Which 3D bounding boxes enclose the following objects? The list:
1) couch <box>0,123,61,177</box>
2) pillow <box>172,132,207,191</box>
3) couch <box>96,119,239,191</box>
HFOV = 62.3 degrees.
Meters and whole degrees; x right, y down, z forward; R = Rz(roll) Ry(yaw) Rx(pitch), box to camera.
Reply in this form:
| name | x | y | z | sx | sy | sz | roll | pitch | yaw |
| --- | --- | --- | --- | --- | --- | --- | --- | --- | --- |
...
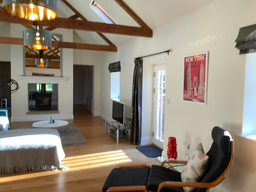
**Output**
| name | x | y | z | sx | sy | sz | roll | pitch | yaw |
| --- | --- | --- | --- | --- | --- | --- | --- | --- | --- |
| couch | -1.950 | 0.930 | 3.940 | 1.240 | 0.520 | 1.340 | -1 | 4 | -21 |
| pillow | 0.700 | 0.760 | 2.400 | 0.160 | 0.450 | 0.530 | 23 | 42 | 3 |
| couch | 0.400 | 0.840 | 2.500 | 1.360 | 0.940 | 0.830 | 1 | 4 | 7 |
